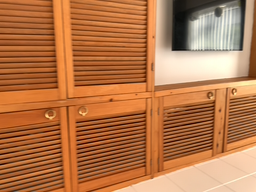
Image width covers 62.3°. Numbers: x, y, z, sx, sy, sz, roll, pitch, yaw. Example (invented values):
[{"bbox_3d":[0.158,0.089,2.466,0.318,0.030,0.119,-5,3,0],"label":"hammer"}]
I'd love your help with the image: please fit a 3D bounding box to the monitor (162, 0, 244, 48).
[{"bbox_3d":[0.700,-0.690,1.920,0.890,0.490,0.090,-7,-167,-26],"label":"monitor"}]
